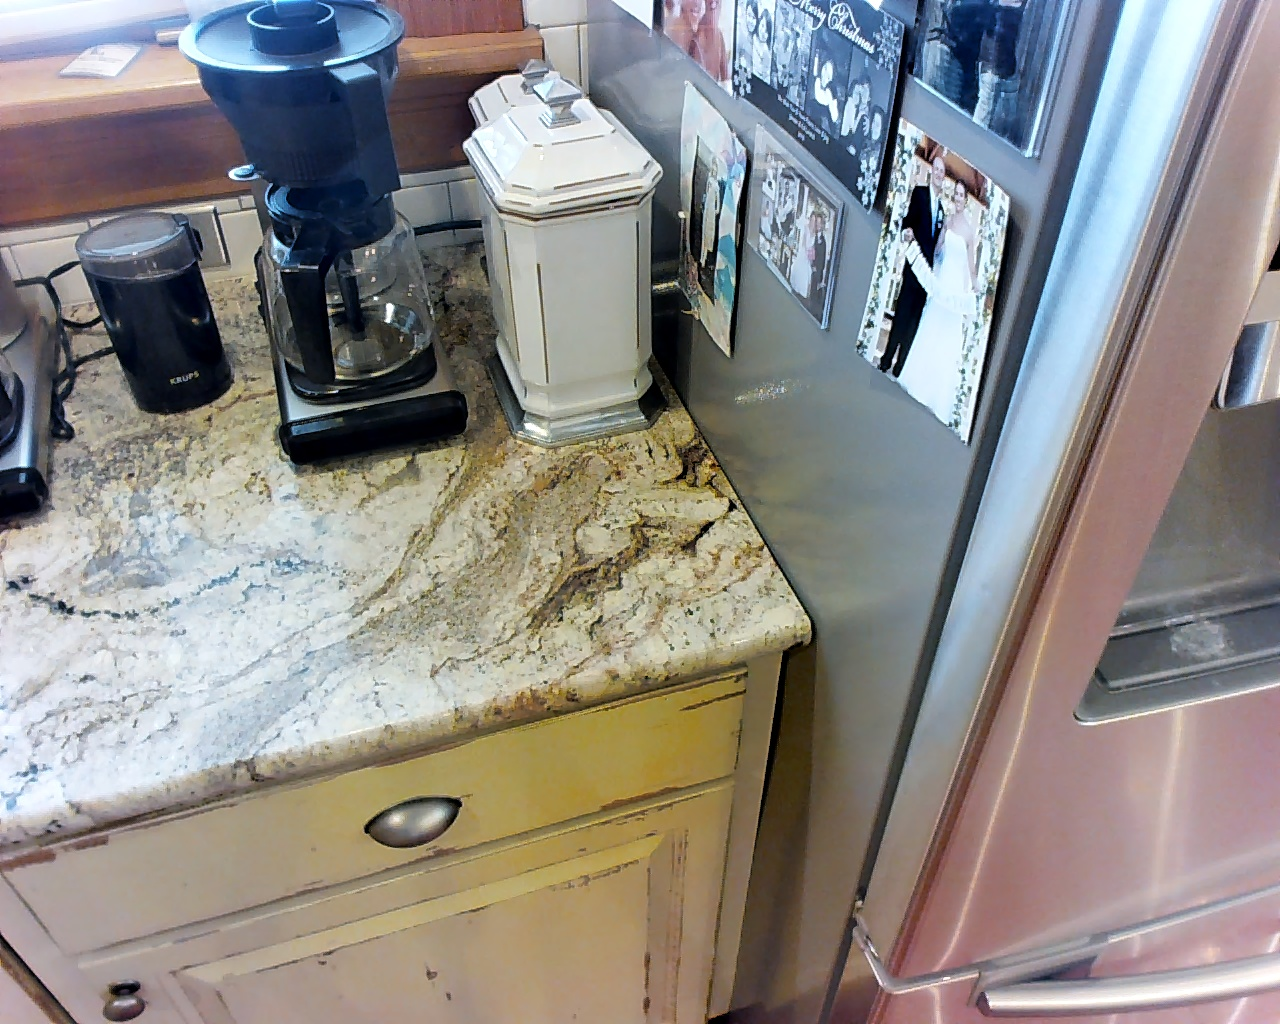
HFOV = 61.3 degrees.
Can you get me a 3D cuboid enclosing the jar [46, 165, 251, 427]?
[{"bbox_3d":[-0.450,-0.200,1.000,0.120,0.180,0.130,-14,44,-15],"label":"jar"}]
